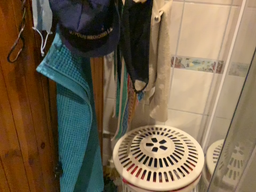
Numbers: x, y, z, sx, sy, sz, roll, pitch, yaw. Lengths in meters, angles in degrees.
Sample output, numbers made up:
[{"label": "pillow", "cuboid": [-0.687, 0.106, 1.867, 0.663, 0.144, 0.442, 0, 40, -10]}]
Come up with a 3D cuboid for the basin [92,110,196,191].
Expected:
[{"label": "basin", "cuboid": [0.100, 0.510, 1.260, 0.450, 0.640, 0.450, 11, 29, 13]}]

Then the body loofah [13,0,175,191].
[{"label": "body loofah", "cuboid": [-0.050, -0.020, 0.980, 0.340, 1.190, 0.690, 11, 29, 13]}]
